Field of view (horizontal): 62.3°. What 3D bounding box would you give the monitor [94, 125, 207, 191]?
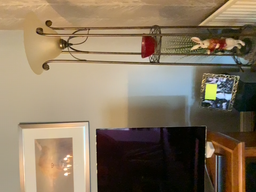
[{"bbox_3d":[0.150,0.790,1.390,0.080,0.720,1.180,-152,61,-86],"label":"monitor"}]
